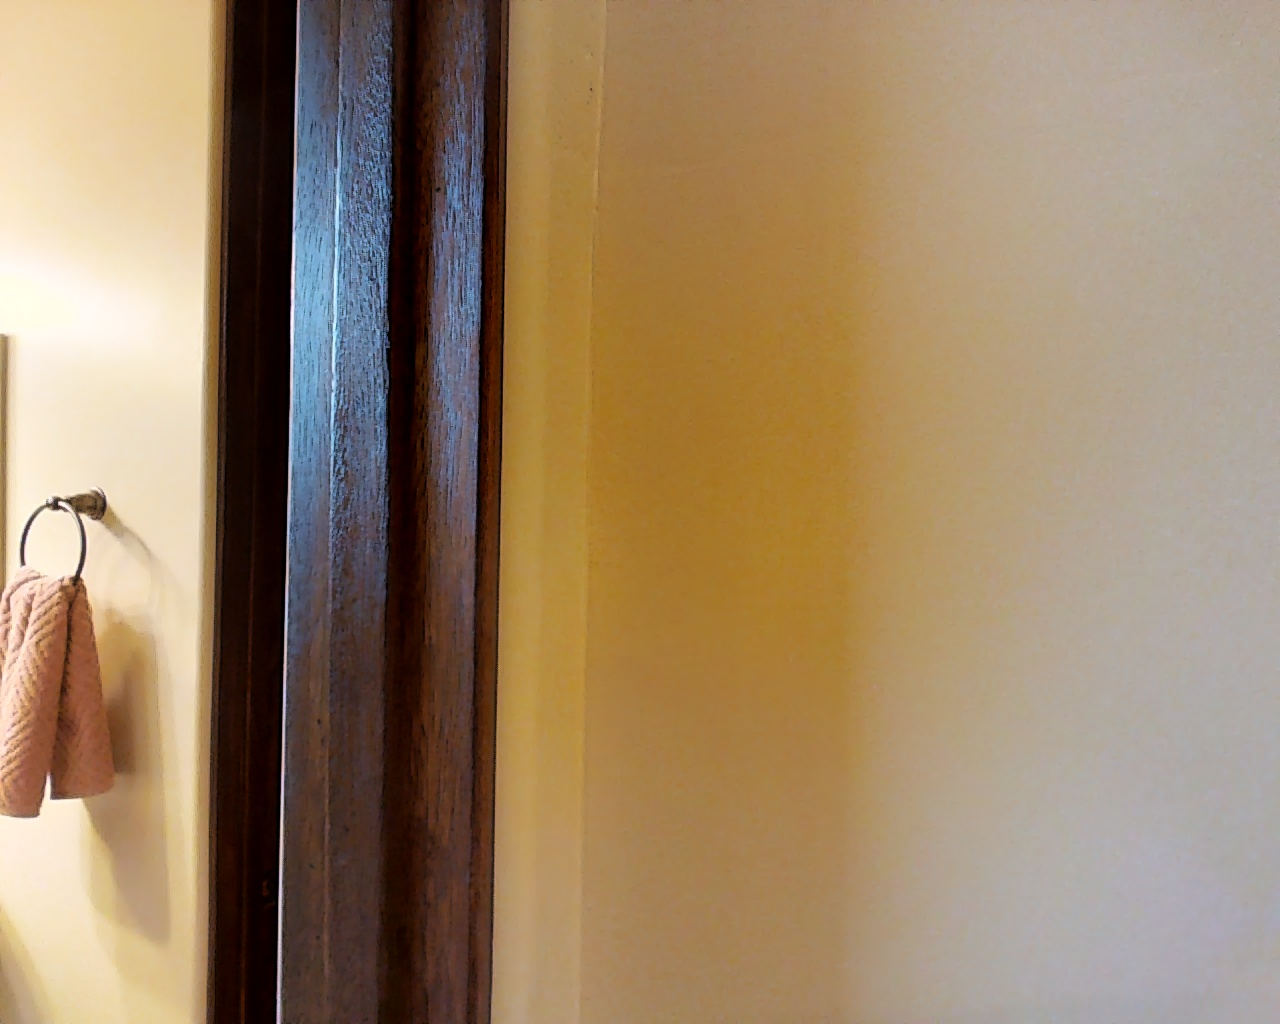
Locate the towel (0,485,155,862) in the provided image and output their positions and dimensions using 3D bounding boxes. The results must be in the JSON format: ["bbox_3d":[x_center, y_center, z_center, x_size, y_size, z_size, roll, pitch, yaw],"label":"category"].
[{"bbox_3d":[-0.930,0.230,1.670,0.250,0.540,0.190,1,1,27],"label":"towel"}]
